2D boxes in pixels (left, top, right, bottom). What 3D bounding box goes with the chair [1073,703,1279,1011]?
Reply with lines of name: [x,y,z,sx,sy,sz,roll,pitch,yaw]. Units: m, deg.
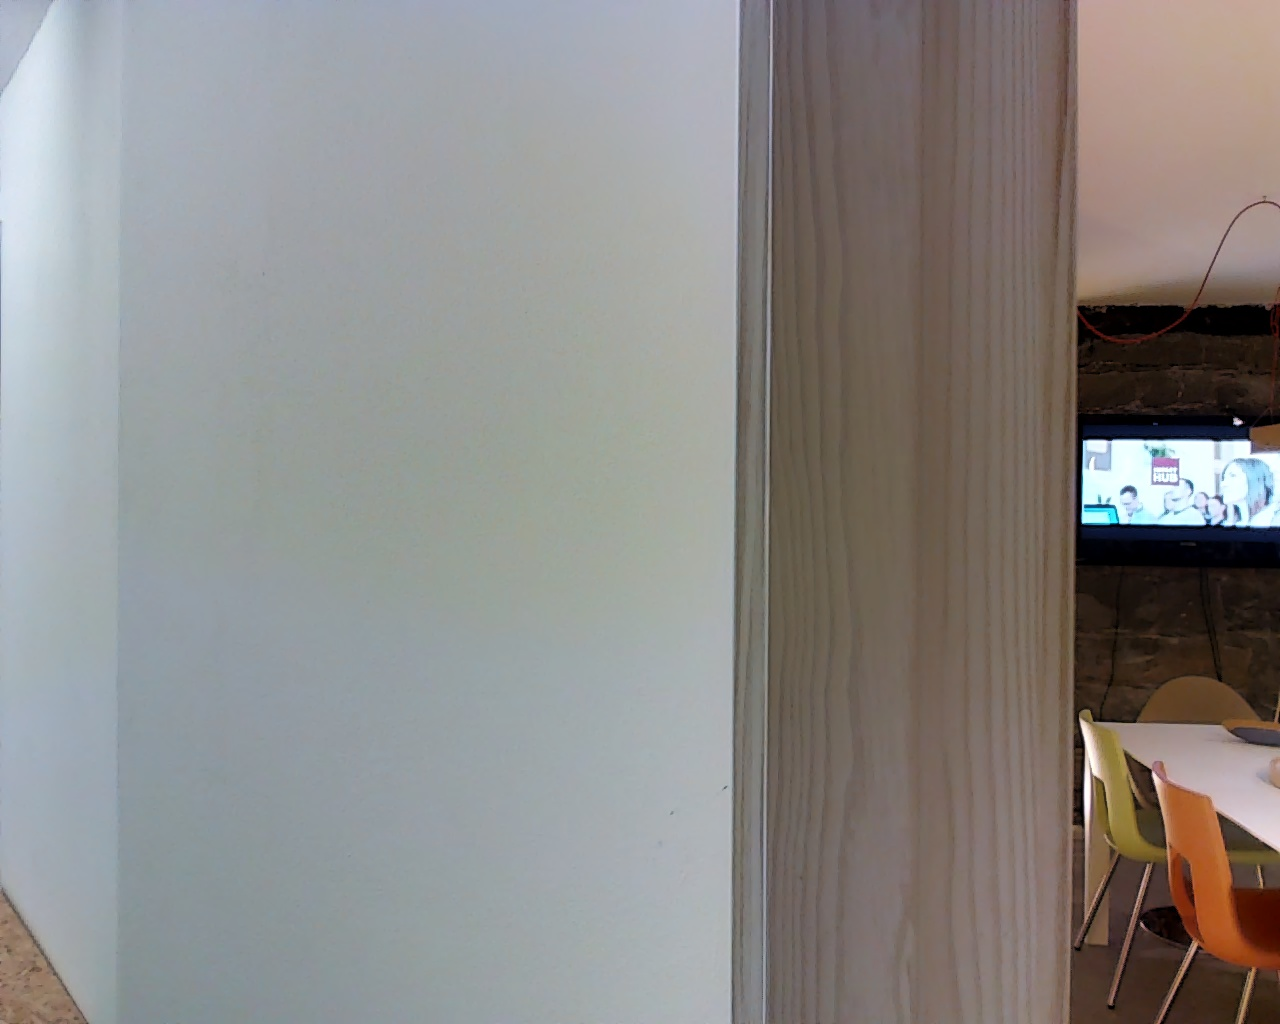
chair: [1.700,1.050,3.390,0.530,0.800,0.460,0,0,9]

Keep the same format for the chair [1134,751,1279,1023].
chair: [1.540,1.050,2.620,0.460,0.800,0.550,1,0,7]
